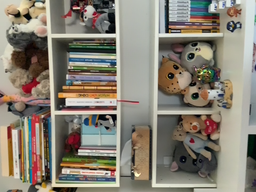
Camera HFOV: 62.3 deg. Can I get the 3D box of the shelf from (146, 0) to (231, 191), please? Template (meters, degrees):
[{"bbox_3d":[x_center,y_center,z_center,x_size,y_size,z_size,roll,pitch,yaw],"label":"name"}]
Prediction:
[{"bbox_3d":[0.250,-0.100,0.970,0.210,0.300,1.030,-85,-5,-82],"label":"shelf"}]

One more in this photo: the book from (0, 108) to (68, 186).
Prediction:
[{"bbox_3d":[-0.500,0.230,1.010,0.190,0.360,0.310,-86,-4,-81],"label":"book"}]
